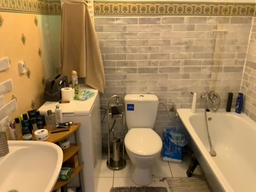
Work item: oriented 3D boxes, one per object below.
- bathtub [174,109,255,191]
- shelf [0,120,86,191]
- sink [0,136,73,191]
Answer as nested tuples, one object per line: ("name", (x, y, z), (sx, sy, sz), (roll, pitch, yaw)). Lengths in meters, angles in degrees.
("bathtub", (0.890, 0.680, 1.680), (0.680, 0.550, 1.670), (1, 19, 0))
("shelf", (-0.560, 0.600, 1.550), (0.390, 0.750, 0.390), (0, 19, 0))
("sink", (-0.540, 0.390, 0.990), (0.410, 0.130, 0.580), (0, 19, 0))
